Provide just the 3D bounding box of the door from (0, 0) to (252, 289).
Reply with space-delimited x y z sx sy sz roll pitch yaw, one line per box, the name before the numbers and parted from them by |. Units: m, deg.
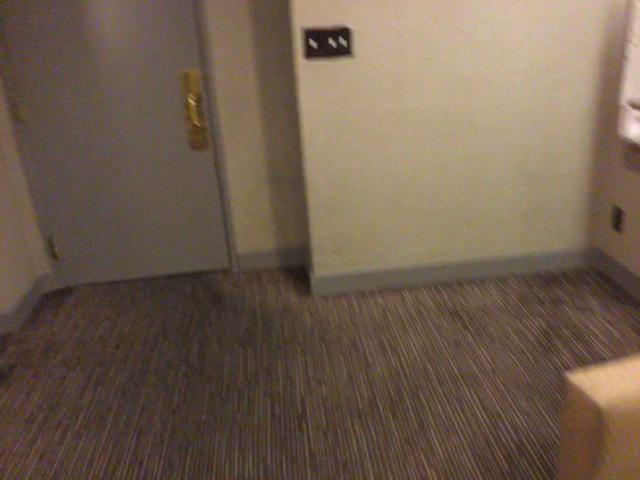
door | -0.990 -0.680 2.800 1.100 1.860 0.120 -6 21 -3
